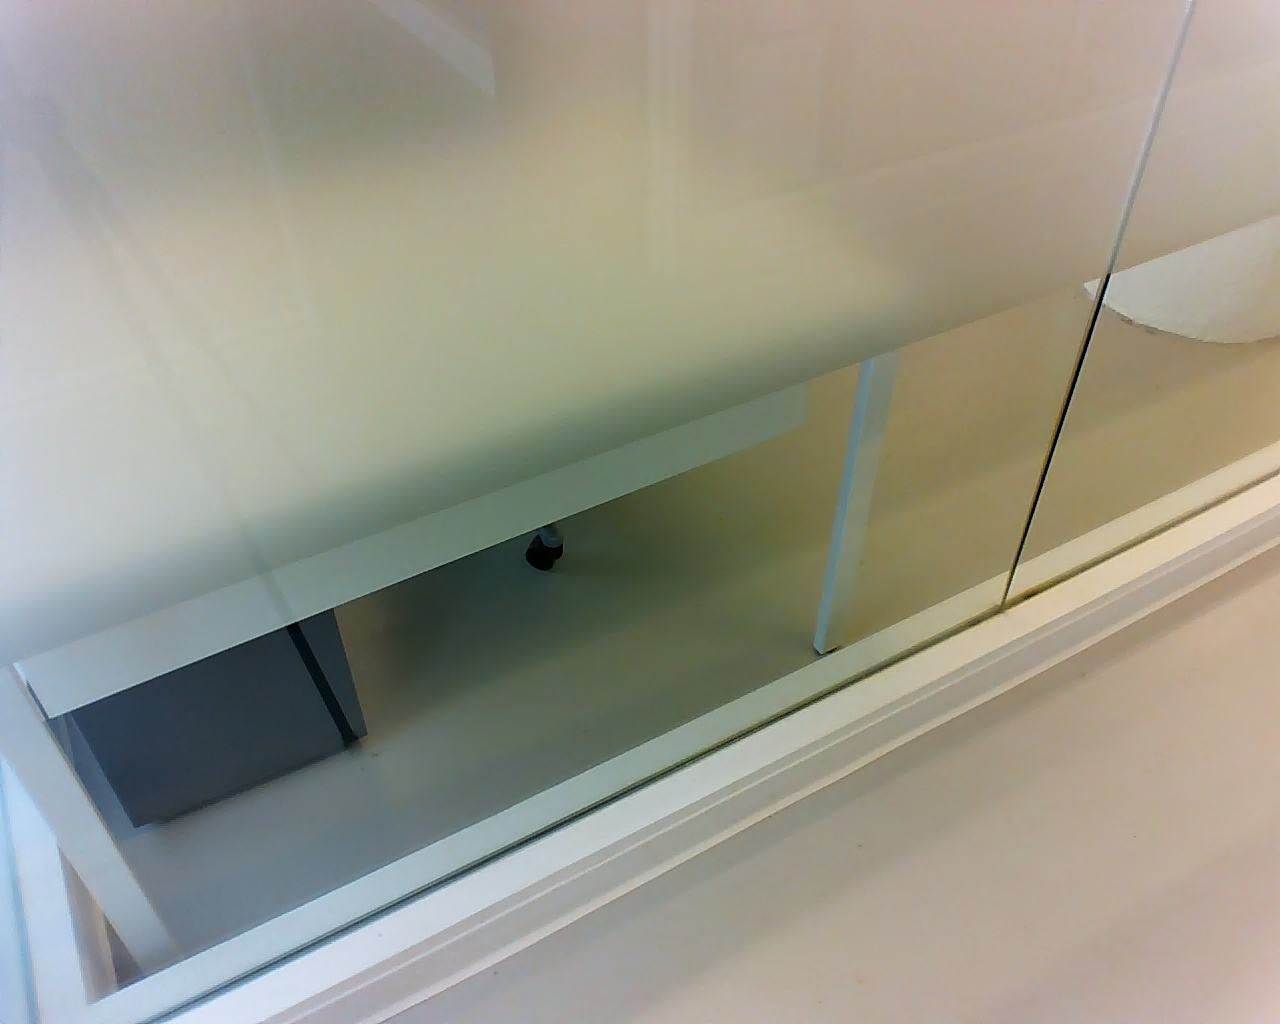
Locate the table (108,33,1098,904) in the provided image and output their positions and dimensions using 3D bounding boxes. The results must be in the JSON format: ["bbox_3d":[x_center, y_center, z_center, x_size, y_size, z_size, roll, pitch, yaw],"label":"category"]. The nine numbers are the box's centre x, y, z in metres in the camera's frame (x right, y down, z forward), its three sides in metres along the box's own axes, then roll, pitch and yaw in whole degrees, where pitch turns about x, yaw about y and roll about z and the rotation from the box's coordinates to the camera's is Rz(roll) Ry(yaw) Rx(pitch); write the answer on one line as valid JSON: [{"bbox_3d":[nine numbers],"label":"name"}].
[{"bbox_3d":[-0.100,-0.170,1.800,1.130,0.780,0.920,-20,45,-20],"label":"table"}]
